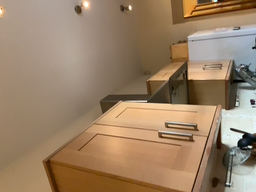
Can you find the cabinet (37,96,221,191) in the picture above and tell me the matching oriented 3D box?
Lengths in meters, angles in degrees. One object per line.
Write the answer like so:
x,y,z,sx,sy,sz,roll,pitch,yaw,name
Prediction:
0.100,0.320,1.330,0.860,0.820,0.330,-38,-56,-55,cabinet
